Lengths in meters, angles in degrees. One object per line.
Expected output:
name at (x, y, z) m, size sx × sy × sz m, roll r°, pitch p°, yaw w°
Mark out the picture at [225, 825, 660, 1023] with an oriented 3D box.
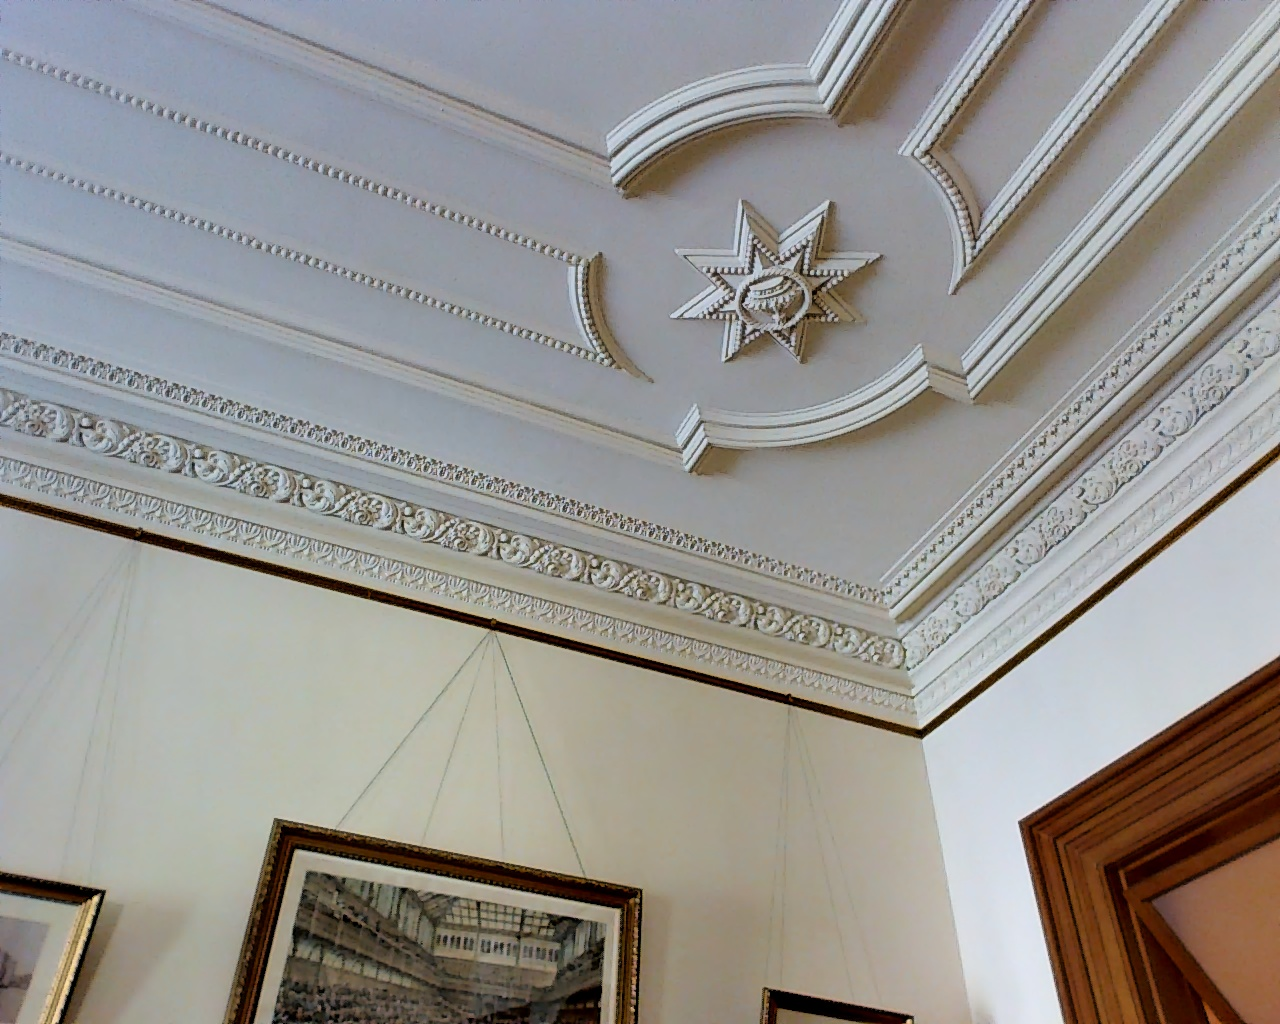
picture at (-0.520, 1.421, 3.080) m, size 1.240 × 0.900 × 0.070 m, roll 14°, pitch -43°, yaw -19°
